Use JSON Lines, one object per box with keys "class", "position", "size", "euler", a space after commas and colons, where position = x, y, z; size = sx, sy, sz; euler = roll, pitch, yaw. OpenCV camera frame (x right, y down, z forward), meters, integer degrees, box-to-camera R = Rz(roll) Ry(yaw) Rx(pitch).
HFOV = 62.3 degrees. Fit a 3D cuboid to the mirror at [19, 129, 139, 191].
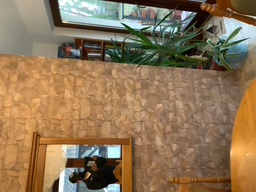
{"class": "mirror", "position": [-0.380, 0.960, 1.700], "size": [0.140, 0.930, 1.340], "euler": [129, 143, -72]}
